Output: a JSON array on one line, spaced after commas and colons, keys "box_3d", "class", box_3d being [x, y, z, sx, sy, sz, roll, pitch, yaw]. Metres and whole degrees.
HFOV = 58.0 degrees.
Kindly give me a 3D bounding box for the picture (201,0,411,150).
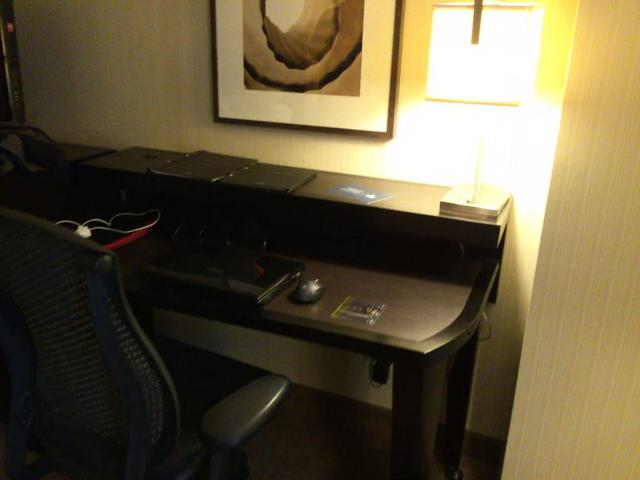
[{"box_3d": [-0.060, -0.700, 1.750, 0.660, 0.780, 0.070, 9, 18, 20], "class": "picture"}]
